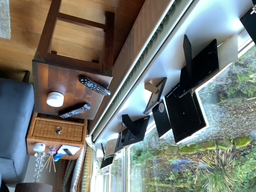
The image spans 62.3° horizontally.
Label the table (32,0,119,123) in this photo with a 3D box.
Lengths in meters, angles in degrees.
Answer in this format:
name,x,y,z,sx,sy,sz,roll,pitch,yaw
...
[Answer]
name,x,y,z,sx,sy,sz,roll,pitch,yaw
table,-0.310,-0.180,1.240,0.360,0.460,0.520,11,146,-17
